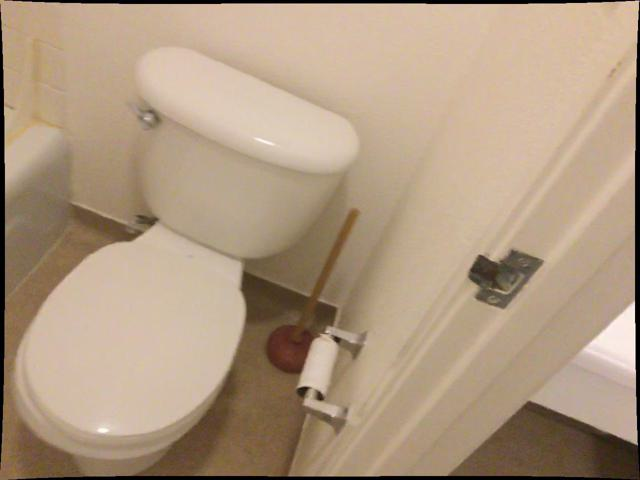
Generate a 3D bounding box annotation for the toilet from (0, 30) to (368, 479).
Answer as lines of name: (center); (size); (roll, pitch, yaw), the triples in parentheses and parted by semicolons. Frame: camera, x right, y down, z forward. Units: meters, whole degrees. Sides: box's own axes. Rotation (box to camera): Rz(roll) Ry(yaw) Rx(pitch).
toilet: (-0.309, 0.120, 1.200); (0.469, 0.730, 0.710); (22, 43, 0)
